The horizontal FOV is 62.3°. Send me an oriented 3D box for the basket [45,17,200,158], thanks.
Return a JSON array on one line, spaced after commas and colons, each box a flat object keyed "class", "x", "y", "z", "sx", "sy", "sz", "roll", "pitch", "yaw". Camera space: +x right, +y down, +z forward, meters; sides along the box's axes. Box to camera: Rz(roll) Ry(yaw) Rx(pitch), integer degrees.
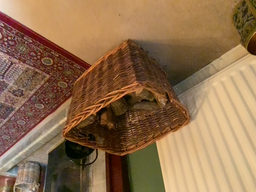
[{"class": "basket", "x": -0.040, "y": 0.020, "z": 1.200, "sx": 0.590, "sy": 0.370, "sz": 0.540, "roll": -34, "pitch": 135, "yaw": 31}]
